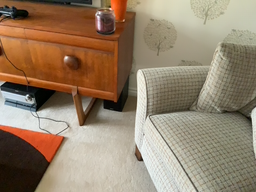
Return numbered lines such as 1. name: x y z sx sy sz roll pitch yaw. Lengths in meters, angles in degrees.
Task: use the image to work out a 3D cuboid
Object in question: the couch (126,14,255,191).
1. couch: 0.600 0.160 1.010 0.940 0.820 0.760 -13 41 -22
